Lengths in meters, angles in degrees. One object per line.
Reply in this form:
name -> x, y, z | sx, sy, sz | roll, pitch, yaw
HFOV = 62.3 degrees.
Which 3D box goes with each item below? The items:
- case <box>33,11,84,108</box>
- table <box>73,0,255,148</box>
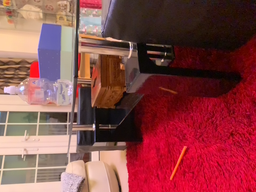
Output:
case -> -0.300, -0.150, 0.940 | 0.250, 0.170, 0.330 | -104, 23, -44
table -> -0.030, -0.110, 1.030 | 1.140, 0.410, 0.520 | 125, 144, -62
